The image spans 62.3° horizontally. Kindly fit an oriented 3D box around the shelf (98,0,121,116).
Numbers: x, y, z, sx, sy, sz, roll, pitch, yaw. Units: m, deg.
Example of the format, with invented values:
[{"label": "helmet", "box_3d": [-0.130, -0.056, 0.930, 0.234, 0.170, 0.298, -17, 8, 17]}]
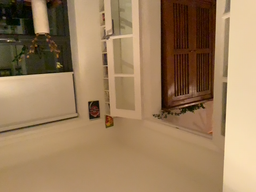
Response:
[{"label": "shelf", "box_3d": [-0.240, -0.750, 2.630, 0.120, 2.010, 0.200, -10, -167, -36]}]
